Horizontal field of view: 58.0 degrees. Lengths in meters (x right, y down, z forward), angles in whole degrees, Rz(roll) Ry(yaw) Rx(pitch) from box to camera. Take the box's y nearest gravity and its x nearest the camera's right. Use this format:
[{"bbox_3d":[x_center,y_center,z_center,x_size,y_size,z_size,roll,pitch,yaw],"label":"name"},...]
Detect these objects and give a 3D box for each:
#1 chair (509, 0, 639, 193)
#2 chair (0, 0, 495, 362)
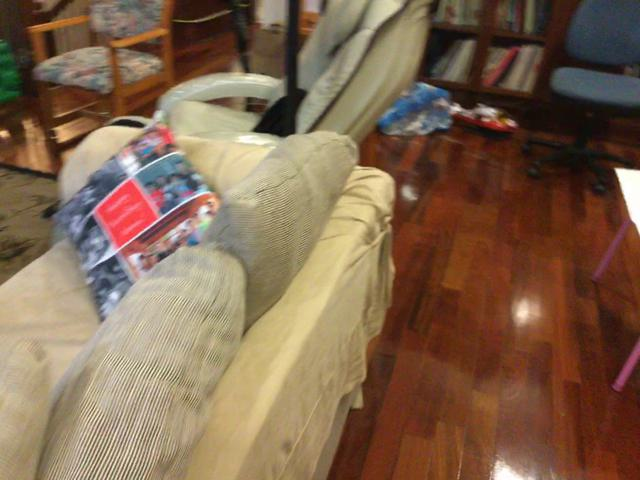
[{"bbox_3d":[1.410,-0.840,2.940,0.550,0.950,0.560,18,34,18],"label":"chair"},{"bbox_3d":[-0.330,-0.410,2.010,1.320,1.220,0.910,-3,33,-14],"label":"chair"}]
